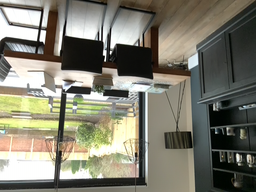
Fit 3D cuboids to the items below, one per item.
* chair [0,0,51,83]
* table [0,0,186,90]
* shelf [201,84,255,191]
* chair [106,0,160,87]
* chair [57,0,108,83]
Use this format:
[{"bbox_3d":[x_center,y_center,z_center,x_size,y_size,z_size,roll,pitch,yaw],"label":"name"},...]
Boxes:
[{"bbox_3d":[-1.430,-0.680,2.680,0.660,0.880,0.590,2,168,-6],"label":"chair"},{"bbox_3d":[-0.460,-0.660,2.950,2.200,0.780,1.030,4,168,-14],"label":"table"},{"bbox_3d":[1.510,0.630,2.580,0.410,1.390,1.370,4,168,-15],"label":"shelf"},{"bbox_3d":[0.040,-0.630,2.780,0.520,0.870,0.600,5,168,-17],"label":"chair"},{"bbox_3d":[-0.580,-0.670,2.650,0.520,0.870,0.550,5,168,-17],"label":"chair"}]
